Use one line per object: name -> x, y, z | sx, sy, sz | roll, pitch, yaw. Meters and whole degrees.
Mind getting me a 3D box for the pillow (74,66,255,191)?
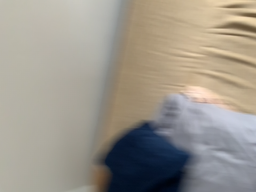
pillow -> 0.190, 0.420, 1.130 | 0.890, 0.520, 0.900 | 34, 117, 47
